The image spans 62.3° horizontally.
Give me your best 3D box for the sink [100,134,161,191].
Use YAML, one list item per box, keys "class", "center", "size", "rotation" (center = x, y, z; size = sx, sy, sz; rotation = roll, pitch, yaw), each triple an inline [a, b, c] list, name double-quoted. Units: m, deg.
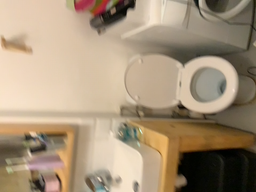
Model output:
- class: "sink"
  center: [-0.010, 0.470, 1.150]
  size: [0.360, 0.120, 0.440]
  rotation: [12, 97, 59]
